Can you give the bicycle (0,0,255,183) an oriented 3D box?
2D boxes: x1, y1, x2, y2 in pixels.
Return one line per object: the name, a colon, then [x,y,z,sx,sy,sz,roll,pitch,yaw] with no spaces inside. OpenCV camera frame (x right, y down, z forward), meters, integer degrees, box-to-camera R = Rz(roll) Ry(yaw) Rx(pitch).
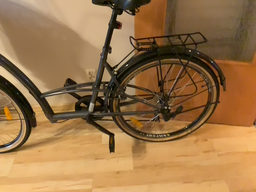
bicycle: [-0.290,-0.070,1.090,1.740,1.120,0.420,-3,40,-2]
